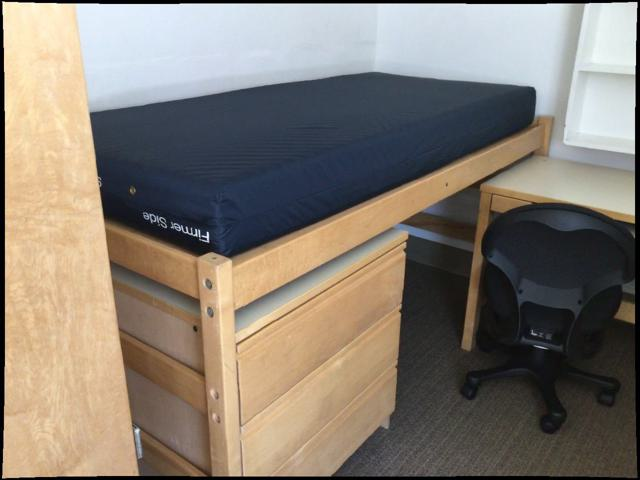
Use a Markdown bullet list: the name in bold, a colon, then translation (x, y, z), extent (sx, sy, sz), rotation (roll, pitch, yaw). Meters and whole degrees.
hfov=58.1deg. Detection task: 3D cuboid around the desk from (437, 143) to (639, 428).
- **desk**: translation (1.277, 0.170, 2.330), extent (1.338, 0.802, 0.739), rotation (17, 29, 36)
